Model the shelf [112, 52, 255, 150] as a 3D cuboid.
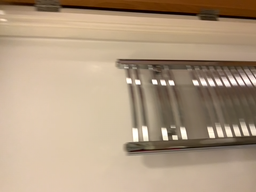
[{"bbox_3d":[0.390,0.000,0.910,0.050,0.890,0.420,105,161,-56],"label":"shelf"}]
